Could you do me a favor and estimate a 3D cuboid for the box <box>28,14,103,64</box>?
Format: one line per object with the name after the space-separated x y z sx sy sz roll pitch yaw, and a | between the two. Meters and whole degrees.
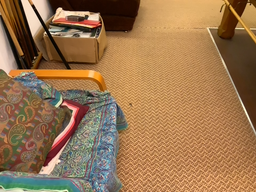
-0.540 -0.530 1.960 0.550 0.280 0.330 5 47 3 | box

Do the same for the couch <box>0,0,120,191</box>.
-0.560 0.100 1.010 1.000 0.930 0.730 3 47 1 | couch
